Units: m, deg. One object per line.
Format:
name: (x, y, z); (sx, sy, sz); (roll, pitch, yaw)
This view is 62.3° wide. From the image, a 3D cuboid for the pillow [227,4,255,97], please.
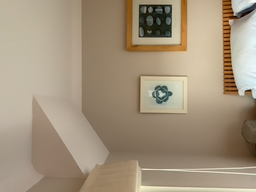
pillow: (1.070, -0.350, 1.820); (0.430, 0.250, 0.700); (38, -128, -87)
